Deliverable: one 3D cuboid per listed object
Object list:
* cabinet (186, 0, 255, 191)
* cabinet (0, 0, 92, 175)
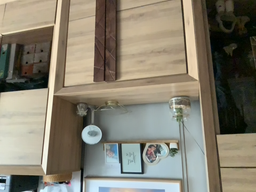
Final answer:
[{"bbox_3d":[0.850,-0.020,1.200,0.880,1.890,0.500,-5,165,15],"label":"cabinet"},{"bbox_3d":[-0.830,-0.130,1.740,0.890,1.410,0.460,-5,165,15],"label":"cabinet"}]
